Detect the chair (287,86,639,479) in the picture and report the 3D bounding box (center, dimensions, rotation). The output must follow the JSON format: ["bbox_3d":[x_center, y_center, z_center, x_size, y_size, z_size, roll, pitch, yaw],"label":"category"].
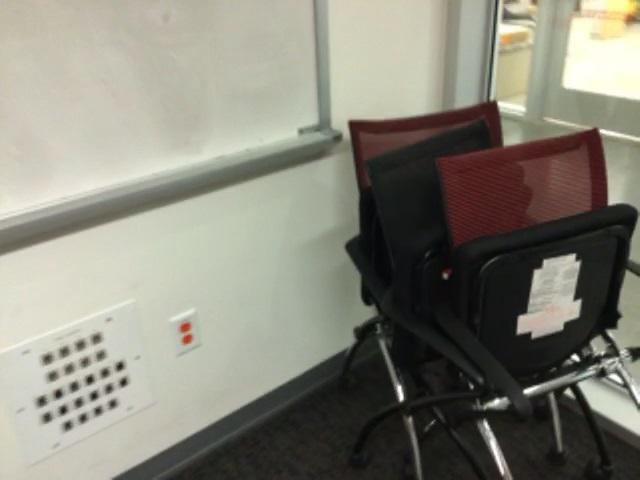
[{"bbox_3d":[0.440,0.090,1.450,0.650,0.760,0.900,-16,26,-27],"label":"chair"}]
